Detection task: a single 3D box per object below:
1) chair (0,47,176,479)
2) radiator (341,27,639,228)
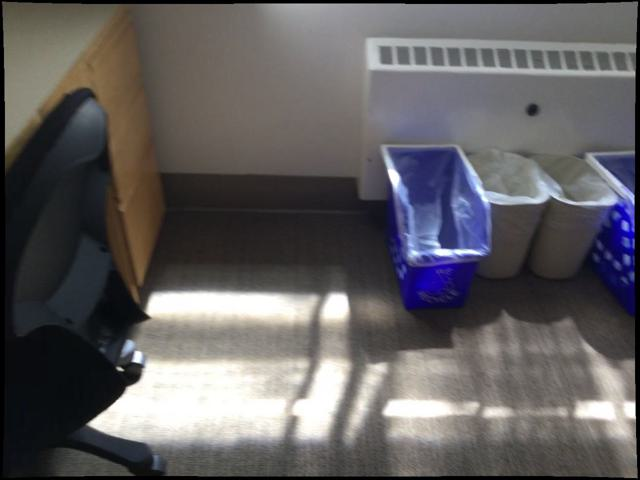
[{"bbox_3d":[-0.629,0.170,1.050,0.559,0.841,0.570,-1,39,-5],"label":"chair"},{"bbox_3d":[0.619,-0.340,1.880,1.059,0.610,0.160,1,39,-2],"label":"radiator"}]
